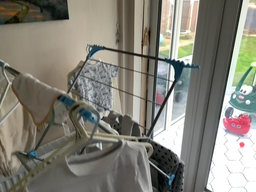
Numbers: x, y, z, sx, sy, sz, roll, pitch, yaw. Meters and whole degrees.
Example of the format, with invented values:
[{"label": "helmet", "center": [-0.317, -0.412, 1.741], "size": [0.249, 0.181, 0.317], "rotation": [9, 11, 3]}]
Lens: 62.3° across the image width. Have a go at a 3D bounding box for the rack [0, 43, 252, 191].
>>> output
[{"label": "rack", "center": [-0.130, 0.570, 1.040], "size": [0.770, 1.460, 0.790], "rotation": [-20, 30, -39]}]
